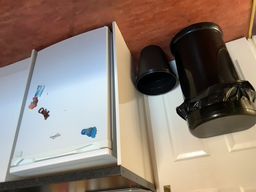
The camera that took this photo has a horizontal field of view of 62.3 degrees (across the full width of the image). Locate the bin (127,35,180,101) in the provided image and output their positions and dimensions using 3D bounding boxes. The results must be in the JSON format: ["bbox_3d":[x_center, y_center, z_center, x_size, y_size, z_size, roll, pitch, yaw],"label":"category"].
[{"bbox_3d":[0.190,-0.190,1.550,0.270,0.280,0.330,-14,147,16],"label":"bin"}]
